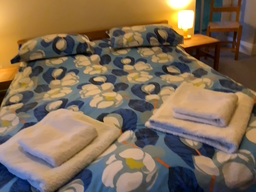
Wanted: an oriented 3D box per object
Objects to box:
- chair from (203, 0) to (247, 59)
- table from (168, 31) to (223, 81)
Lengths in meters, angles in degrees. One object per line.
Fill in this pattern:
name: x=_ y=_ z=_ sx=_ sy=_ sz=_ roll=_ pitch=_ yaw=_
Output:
chair: x=1.380 y=-1.080 z=3.100 sx=0.460 sy=0.930 sz=0.540 roll=5 pitch=30 yaw=17
table: x=0.810 y=-0.510 z=2.650 sx=0.460 sy=0.440 sz=0.450 roll=-10 pitch=29 yaw=-10
